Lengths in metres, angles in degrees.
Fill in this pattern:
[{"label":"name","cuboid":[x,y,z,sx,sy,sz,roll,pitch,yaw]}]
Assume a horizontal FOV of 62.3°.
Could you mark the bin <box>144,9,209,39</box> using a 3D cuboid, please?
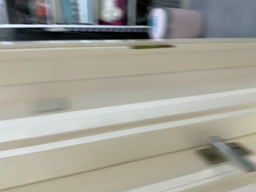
[{"label":"bin","cuboid":[0.420,-0.650,1.930,0.360,0.430,0.230,-139,47,-61]}]
